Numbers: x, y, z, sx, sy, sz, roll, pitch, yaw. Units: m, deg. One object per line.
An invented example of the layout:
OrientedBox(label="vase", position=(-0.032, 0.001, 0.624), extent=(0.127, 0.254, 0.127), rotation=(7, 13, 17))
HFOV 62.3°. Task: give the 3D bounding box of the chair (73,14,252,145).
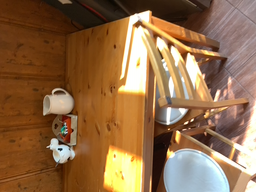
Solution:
OrientedBox(label="chair", position=(0.240, -0.040, 1.200), extent=(0.460, 0.900, 0.390), rotation=(-30, 70, 42))

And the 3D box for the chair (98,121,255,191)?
OrientedBox(label="chair", position=(0.370, 0.440, 1.080), extent=(0.500, 0.900, 0.380), rotation=(24, 107, 43))
